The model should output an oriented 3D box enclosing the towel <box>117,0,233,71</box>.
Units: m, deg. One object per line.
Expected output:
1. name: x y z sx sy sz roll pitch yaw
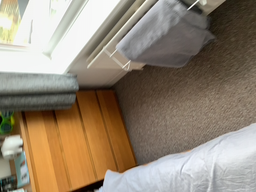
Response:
1. towel: 0.290 -0.340 1.300 0.470 0.540 0.130 -35 68 43
